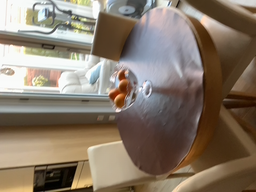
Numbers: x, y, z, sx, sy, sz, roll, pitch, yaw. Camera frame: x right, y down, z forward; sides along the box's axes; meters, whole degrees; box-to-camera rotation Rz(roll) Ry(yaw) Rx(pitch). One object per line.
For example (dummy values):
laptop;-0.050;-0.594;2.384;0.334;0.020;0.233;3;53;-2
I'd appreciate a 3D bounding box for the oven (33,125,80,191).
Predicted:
oven;-0.950;0.800;2.710;0.580;0.470;0.590;-115;37;-44
